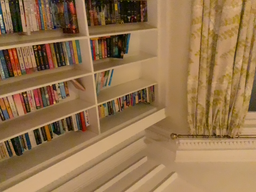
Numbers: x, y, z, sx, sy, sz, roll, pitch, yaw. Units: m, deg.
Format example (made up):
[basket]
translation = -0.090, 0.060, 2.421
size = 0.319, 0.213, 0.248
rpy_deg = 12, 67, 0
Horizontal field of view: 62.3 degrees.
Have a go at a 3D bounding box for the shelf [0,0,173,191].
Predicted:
[shelf]
translation = -0.350, -0.440, 1.670
size = 1.650, 1.930, 0.480
rpy_deg = -20, -153, -38

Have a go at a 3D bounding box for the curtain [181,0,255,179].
[curtain]
translation = 0.820, -0.830, 1.700
size = 0.390, 3.200, 0.510
rpy_deg = -21, -152, -40
